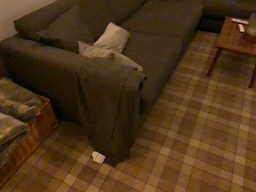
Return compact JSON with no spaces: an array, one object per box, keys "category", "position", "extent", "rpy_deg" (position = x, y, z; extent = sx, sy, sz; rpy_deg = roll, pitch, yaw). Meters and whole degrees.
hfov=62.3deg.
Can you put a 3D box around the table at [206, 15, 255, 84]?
[{"category":"table","position":[1.150,-0.520,2.270],"extent":[0.410,0.370,0.670],"rpy_deg":[18,46,17]}]

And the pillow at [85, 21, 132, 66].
[{"category":"pillow","position":[-0.160,-0.510,1.980],"extent":[0.230,0.150,0.510],"rpy_deg":[16,45,15]}]
